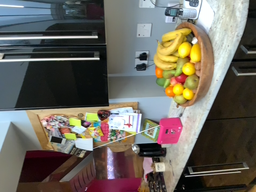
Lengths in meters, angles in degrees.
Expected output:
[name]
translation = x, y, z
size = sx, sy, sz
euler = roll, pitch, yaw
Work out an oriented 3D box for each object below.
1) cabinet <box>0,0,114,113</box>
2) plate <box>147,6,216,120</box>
[cabinet]
translation = -0.460, -0.290, 1.070
size = 0.330, 0.750, 0.710
euler = -100, 10, -46
[plate]
translation = 0.240, -0.180, 1.140
size = 0.440, 0.160, 0.430
euler = -98, 8, -45
